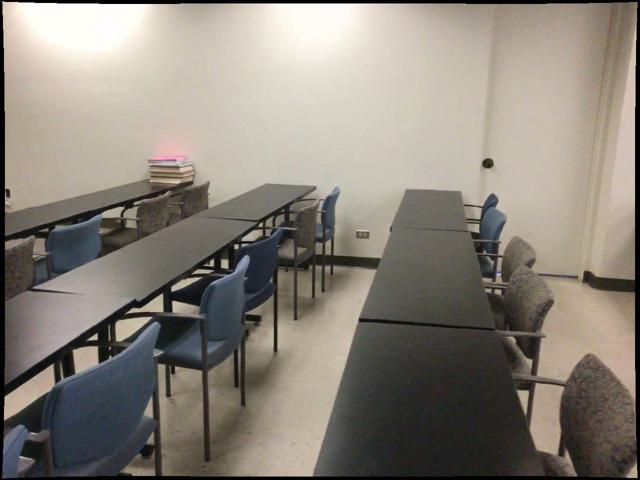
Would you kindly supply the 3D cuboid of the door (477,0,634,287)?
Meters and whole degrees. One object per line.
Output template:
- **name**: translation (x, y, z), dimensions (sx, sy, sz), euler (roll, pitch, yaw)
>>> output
- **door**: translation (1.805, -0.792, 4.550), dimensions (0.918, 2.316, 0.190), euler (3, 15, 11)
